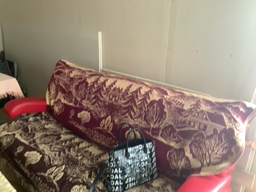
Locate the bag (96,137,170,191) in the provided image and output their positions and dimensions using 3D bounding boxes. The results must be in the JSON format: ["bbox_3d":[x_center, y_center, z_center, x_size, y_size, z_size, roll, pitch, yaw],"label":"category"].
[{"bbox_3d":[0.030,0.440,1.310,0.340,0.150,0.290,16,27,34],"label":"bag"}]
